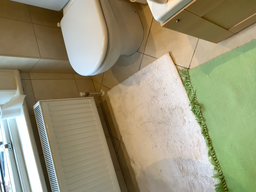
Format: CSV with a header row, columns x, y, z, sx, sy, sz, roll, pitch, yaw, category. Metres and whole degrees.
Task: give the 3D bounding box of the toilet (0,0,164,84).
x,y,z,sx,sy,sz,roll,pitch,yaw,category
-0.270,-0.440,1.190,0.380,0.780,0.650,-29,73,40,toilet
